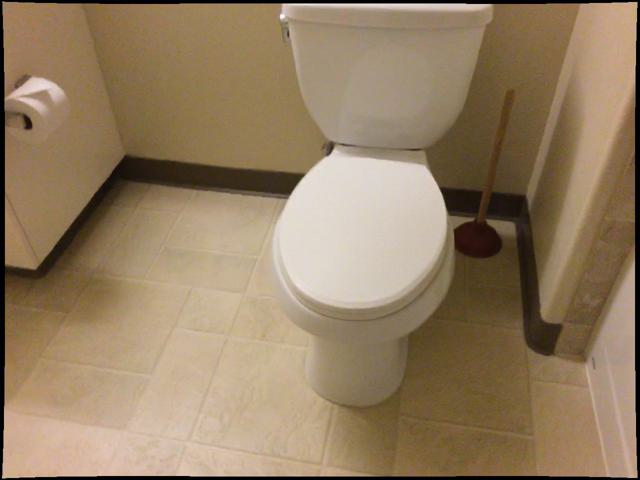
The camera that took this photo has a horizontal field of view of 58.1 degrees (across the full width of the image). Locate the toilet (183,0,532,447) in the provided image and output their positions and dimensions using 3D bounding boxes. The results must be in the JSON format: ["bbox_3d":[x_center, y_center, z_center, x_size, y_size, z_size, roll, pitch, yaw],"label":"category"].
[{"bbox_3d":[0.110,-0.100,1.350,0.489,0.801,0.761,5,43,7],"label":"toilet"}]

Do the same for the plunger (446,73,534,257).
[{"bbox_3d":[0.469,-0.201,1.650,0.150,0.501,0.180,5,43,7],"label":"plunger"}]
